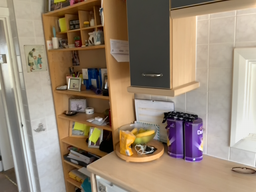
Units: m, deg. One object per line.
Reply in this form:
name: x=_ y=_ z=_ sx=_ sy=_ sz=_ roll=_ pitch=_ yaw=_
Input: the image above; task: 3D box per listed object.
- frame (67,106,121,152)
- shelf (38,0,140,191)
frame: x=-0.340 y=0.300 z=2.090 sx=0.270 sy=0.280 sz=0.490 roll=-14 pitch=17 yaw=-42
shelf: x=-0.350 y=0.220 z=2.000 sx=0.850 sy=2.010 sz=0.310 roll=7 pitch=16 yaw=39
